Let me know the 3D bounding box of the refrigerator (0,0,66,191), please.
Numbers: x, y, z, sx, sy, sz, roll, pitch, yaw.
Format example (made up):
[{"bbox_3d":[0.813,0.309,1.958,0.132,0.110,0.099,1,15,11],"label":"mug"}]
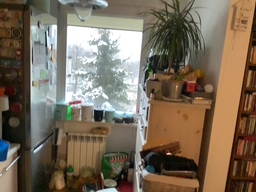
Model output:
[{"bbox_3d":[-1.180,0.140,2.270,0.700,2.030,0.910,5,10,-1],"label":"refrigerator"}]
